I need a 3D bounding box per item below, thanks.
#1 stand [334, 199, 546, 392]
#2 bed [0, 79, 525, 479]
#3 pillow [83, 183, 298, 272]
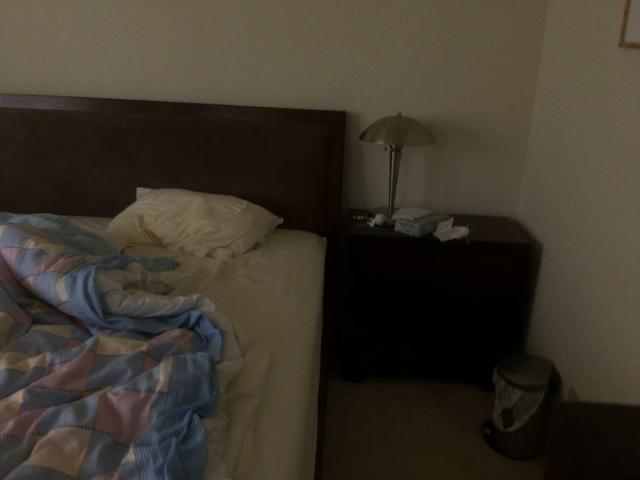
[{"bbox_3d":[0.460,0.220,2.460,0.760,0.680,0.380,4,16,1],"label":"stand"},{"bbox_3d":[-0.740,0.230,1.600,1.760,1.200,2.120,4,16,1],"label":"bed"},{"bbox_3d":[-0.480,-0.070,2.230,0.670,0.160,0.440,8,17,17],"label":"pillow"}]
